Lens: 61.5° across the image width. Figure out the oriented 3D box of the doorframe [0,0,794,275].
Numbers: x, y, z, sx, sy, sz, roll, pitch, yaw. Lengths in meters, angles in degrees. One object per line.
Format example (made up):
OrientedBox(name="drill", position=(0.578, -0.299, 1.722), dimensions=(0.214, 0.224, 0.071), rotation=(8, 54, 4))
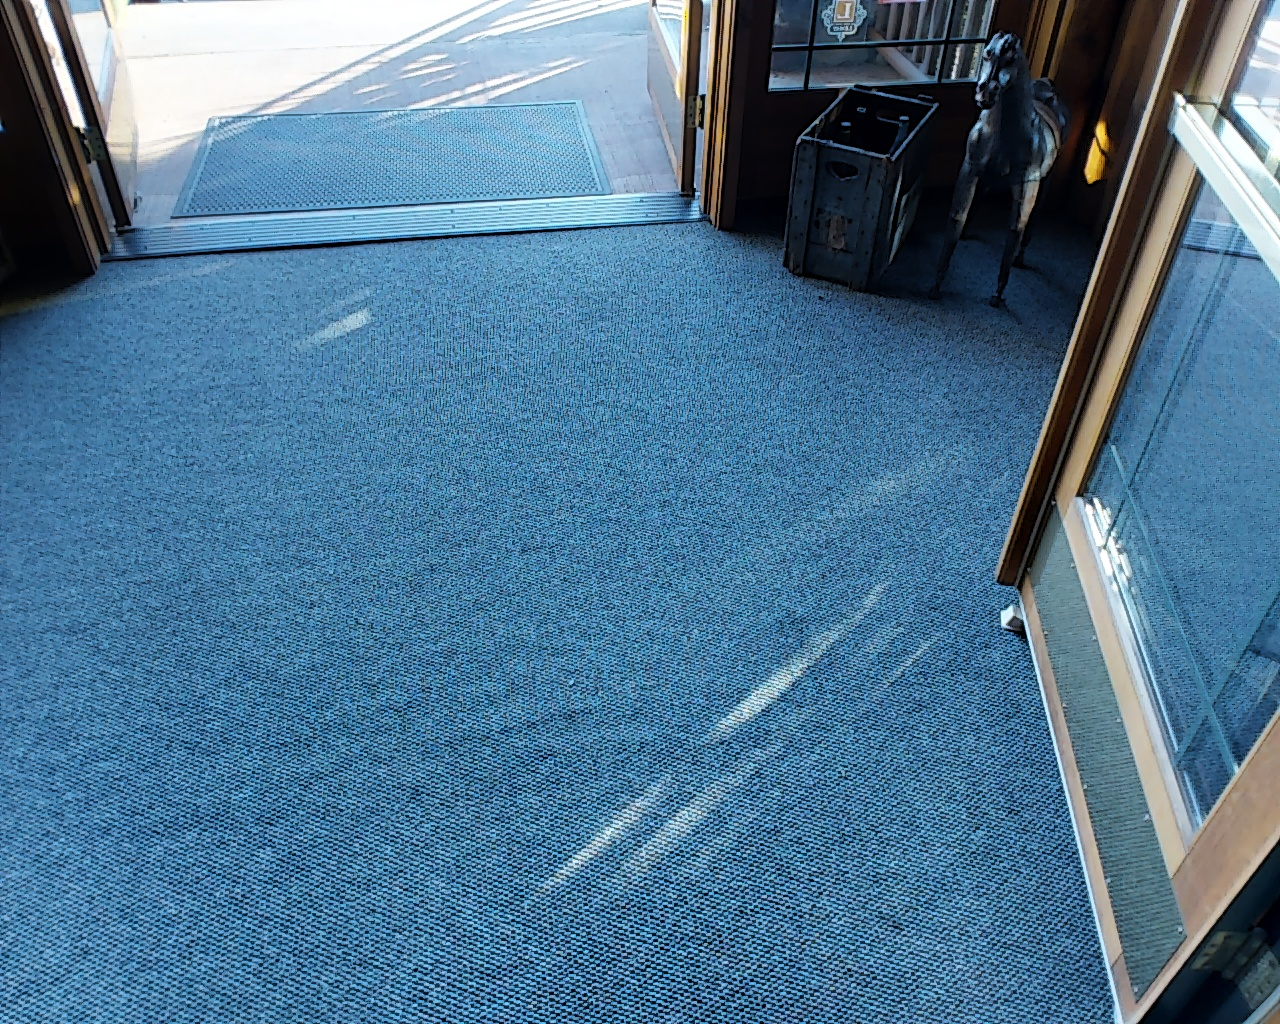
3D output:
OrientedBox(name="doorframe", position=(-0.730, -1.650, 2.640), dimensions=(2.310, 2.060, 0.280), rotation=(-6, 42, -9))
